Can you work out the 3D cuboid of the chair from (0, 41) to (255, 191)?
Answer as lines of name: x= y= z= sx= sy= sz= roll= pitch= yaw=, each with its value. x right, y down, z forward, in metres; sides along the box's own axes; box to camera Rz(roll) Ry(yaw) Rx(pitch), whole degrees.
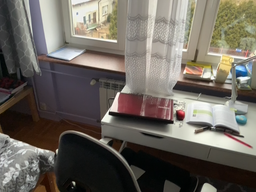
chair: x=0.060 y=0.470 z=1.120 sx=0.730 sy=1.210 sz=0.770 roll=18 pitch=35 yaw=23

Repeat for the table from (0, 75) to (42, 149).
table: x=-1.400 y=0.130 z=2.270 sx=0.600 sy=0.470 sz=0.570 roll=12 pitch=32 yaw=13
